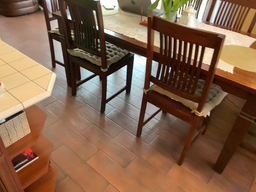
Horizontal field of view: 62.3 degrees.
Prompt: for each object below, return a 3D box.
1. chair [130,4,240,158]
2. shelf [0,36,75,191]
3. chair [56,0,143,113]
[{"bbox_3d":[0.390,-0.110,1.630,0.460,0.960,0.520,24,40,22],"label":"chair"},{"bbox_3d":[-0.630,0.190,1.190,0.550,0.860,0.310,29,43,28],"label":"shelf"},{"bbox_3d":[-0.250,-0.430,1.960,0.460,0.960,0.520,27,42,26],"label":"chair"}]
